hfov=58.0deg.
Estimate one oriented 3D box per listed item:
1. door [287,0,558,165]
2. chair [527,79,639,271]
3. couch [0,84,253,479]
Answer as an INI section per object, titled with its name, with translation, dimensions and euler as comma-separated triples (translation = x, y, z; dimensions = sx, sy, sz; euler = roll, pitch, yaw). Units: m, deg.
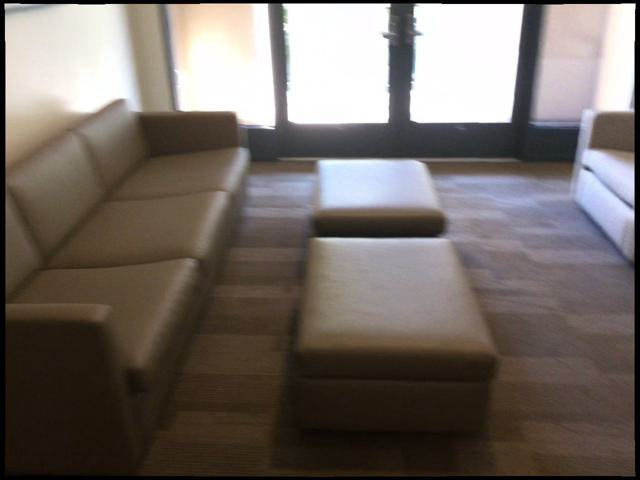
[door]
translation = 0.669, -1.653, 3.910
dimensions = 1.766, 2.284, 0.330
euler = 1, 29, 1
[chair]
translation = 1.866, -0.411, 3.220
dimensions = 0.978, 0.711, 1.071
euler = 1, 29, 1
[couch]
translation = -0.948, -0.040, 2.520
dimensions = 0.998, 0.711, 2.271
euler = 1, 29, 1
